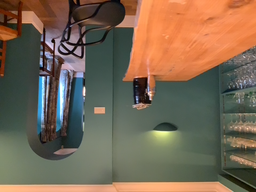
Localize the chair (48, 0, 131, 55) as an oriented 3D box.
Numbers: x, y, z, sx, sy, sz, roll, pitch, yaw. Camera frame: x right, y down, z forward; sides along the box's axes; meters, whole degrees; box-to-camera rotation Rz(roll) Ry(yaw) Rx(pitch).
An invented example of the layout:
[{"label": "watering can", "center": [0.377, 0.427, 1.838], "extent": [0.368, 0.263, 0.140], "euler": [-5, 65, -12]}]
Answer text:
[{"label": "chair", "center": [-0.270, -0.840, 1.740], "extent": [0.570, 0.890, 0.500], "euler": [0, 176, -2]}]

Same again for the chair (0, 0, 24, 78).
[{"label": "chair", "center": [-1.700, -0.760, 2.700], "extent": [0.530, 0.960, 0.450], "euler": [-3, 175, 37]}]
